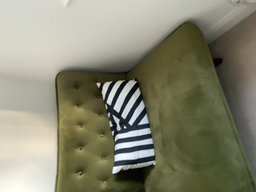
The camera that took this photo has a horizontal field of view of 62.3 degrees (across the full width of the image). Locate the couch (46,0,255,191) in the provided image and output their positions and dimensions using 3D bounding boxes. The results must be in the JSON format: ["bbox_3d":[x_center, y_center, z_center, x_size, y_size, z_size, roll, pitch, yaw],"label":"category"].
[{"bbox_3d":[0.120,0.520,1.080,0.900,0.790,1.690,-36,55,45],"label":"couch"}]
